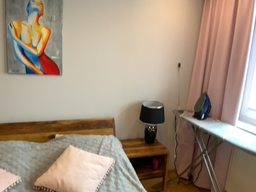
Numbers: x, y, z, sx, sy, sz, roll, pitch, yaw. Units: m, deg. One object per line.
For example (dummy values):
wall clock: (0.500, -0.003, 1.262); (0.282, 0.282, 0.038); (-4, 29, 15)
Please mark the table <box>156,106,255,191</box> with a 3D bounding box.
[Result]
table: (0.830, 0.750, 2.250); (0.380, 0.960, 1.400); (0, 11, -20)
